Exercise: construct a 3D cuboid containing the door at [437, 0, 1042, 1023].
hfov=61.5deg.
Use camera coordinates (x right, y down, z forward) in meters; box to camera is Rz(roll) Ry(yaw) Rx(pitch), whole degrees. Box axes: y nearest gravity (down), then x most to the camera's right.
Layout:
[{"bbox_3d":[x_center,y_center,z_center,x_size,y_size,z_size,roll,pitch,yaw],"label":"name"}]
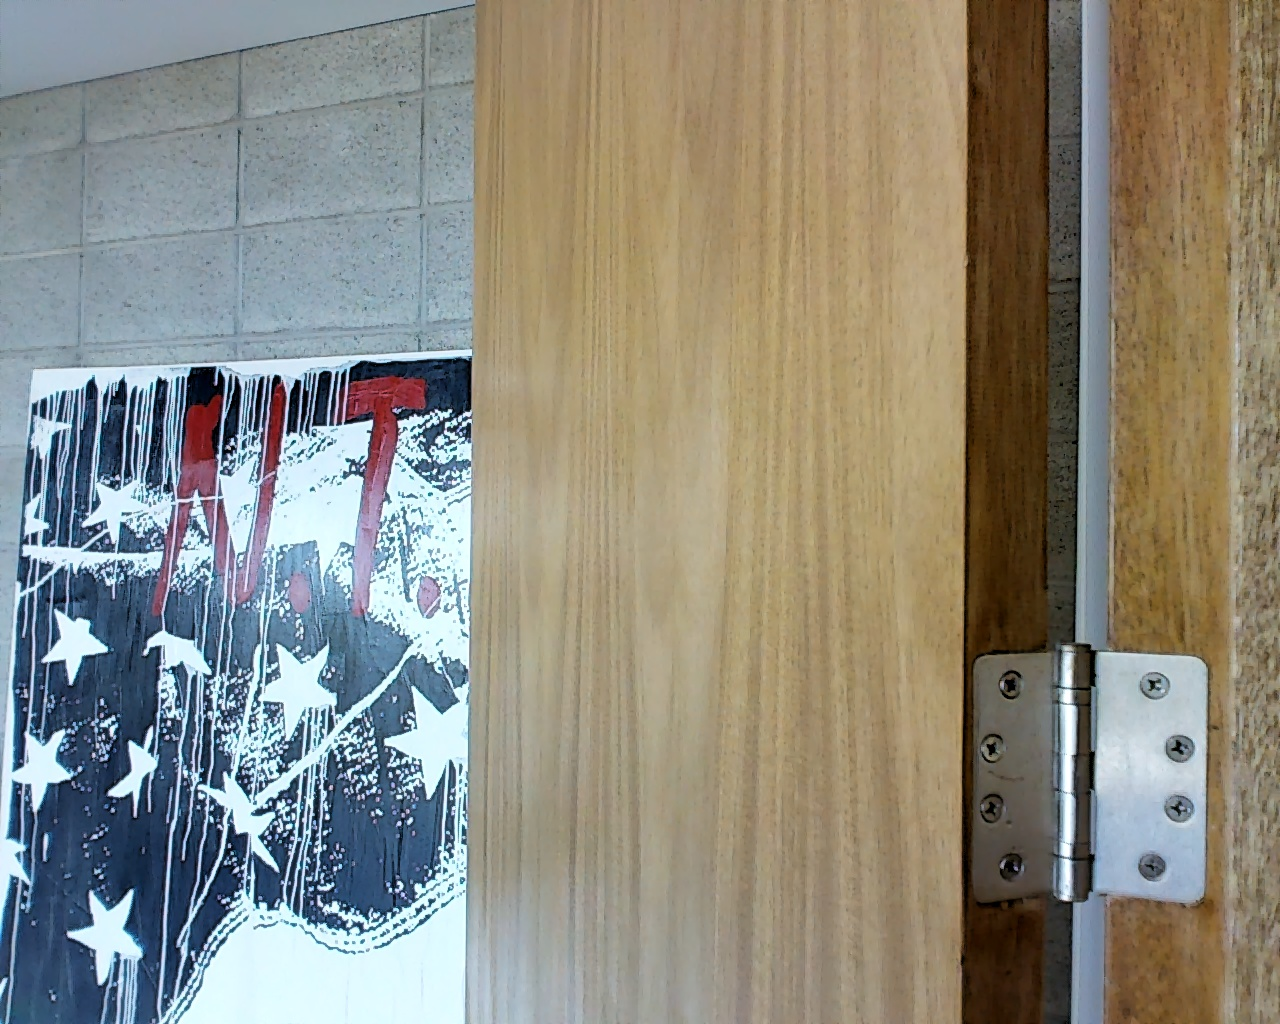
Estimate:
[{"bbox_3d":[-0.050,0.390,0.890,0.100,2.350,1.010,1,0,-18],"label":"door"}]
